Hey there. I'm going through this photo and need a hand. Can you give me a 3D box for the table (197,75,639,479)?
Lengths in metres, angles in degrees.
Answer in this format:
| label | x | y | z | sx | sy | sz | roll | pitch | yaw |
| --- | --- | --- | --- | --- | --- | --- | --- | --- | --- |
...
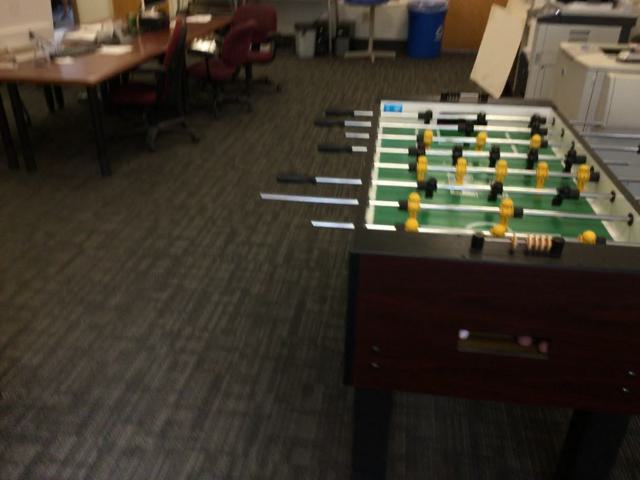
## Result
| label | x | y | z | sx | sy | sz | roll | pitch | yaw |
| --- | --- | --- | --- | --- | --- | --- | --- | --- | --- |
| table | 0.460 | 0.100 | 1.990 | 1.240 | 0.950 | 1.390 | 3 | 31 | 8 |
